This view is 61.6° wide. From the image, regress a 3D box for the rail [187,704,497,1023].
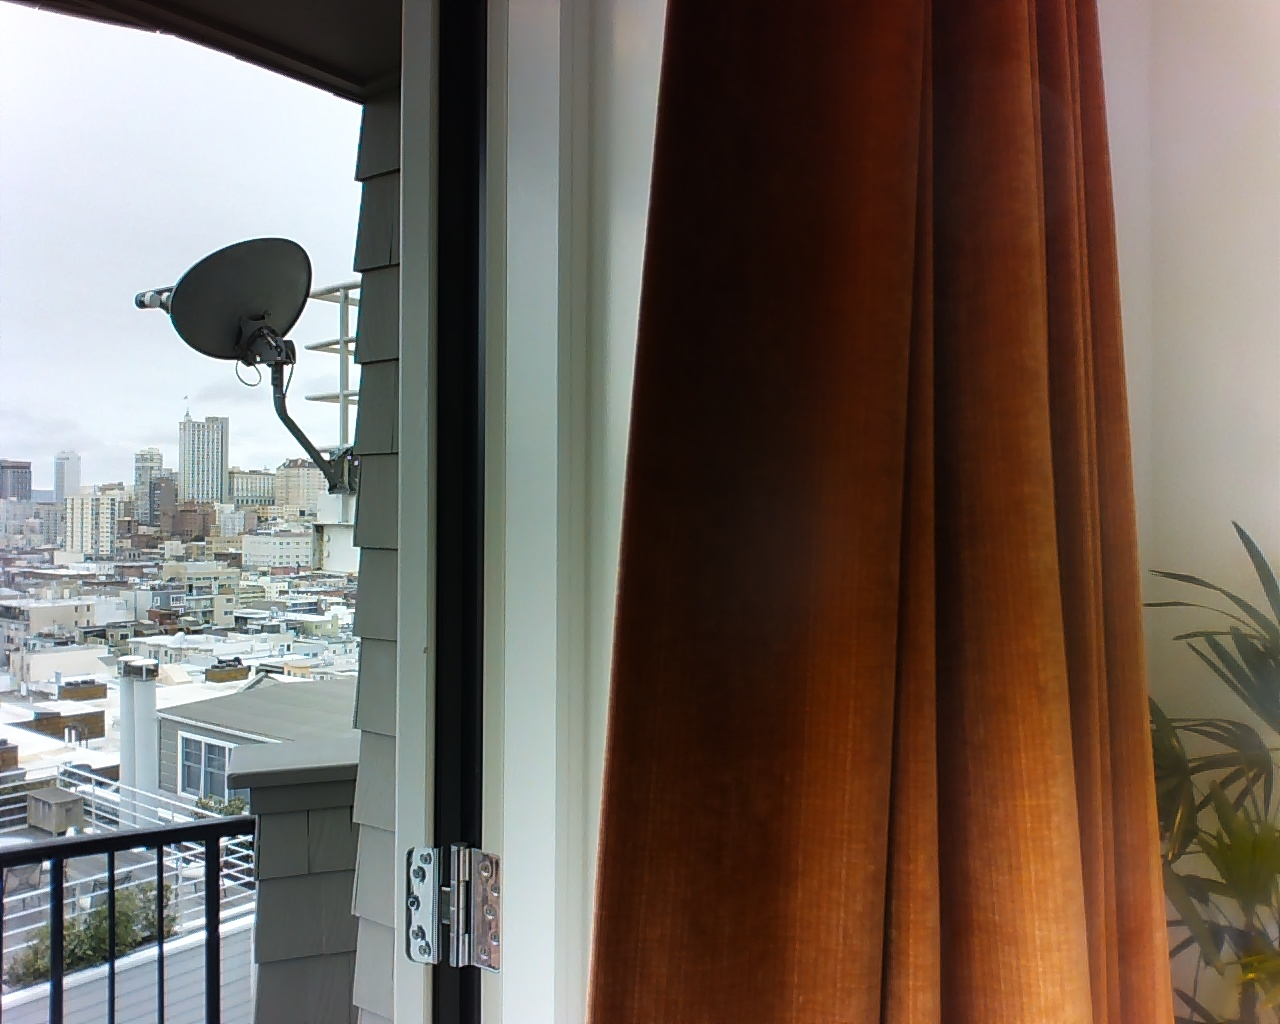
[{"bbox_3d":[-0.680,1.050,2.580,0.660,1.090,0.440,0,-1,-7],"label":"rail"}]
